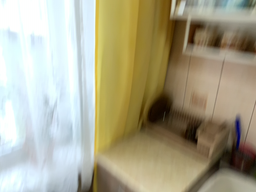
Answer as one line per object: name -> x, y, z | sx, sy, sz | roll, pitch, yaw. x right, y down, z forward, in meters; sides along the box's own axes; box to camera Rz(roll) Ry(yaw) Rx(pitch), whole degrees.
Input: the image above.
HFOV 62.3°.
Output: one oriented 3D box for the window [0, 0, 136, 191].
window -> -0.490, -0.190, 0.610 | 0.200, 1.910, 1.290 | 21, 28, 40
